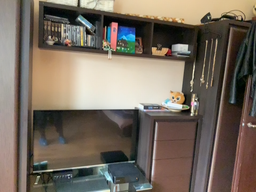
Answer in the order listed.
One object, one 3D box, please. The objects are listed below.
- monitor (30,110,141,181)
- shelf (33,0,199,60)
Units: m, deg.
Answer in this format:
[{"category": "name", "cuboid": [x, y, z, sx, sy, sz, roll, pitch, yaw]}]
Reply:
[{"category": "monitor", "cuboid": [-0.370, 0.440, 2.010, 1.000, 0.610, 0.080, 1, 8, -21]}, {"category": "shelf", "cuboid": [-0.050, -0.580, 2.010, 1.540, 0.350, 0.230, 1, 8, -21]}]
